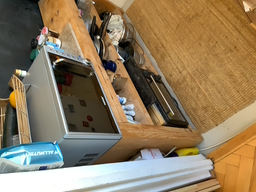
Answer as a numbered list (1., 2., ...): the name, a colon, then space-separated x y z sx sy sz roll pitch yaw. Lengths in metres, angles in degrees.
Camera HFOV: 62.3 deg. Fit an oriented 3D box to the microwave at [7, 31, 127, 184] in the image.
1. microwave: -0.310 0.050 0.970 0.340 0.290 0.530 -43 55 28
